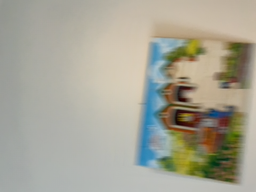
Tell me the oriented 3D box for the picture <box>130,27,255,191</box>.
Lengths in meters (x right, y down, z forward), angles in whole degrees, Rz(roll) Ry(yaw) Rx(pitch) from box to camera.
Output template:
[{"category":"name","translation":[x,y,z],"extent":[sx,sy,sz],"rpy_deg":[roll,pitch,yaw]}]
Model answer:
[{"category":"picture","translation":[0.330,0.040,1.080],"extent":[0.050,0.580,0.770],"rpy_deg":[18,-103,-72]}]
